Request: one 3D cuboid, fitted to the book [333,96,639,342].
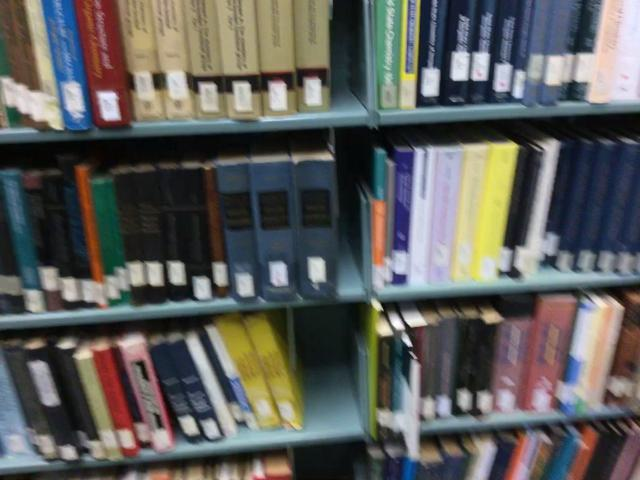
[{"bbox_3d":[0.500,-0.070,1.050,0.910,0.320,0.220,-7,23,-5],"label":"book"}]

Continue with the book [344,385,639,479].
[{"bbox_3d":[0.510,0.480,1.250,0.900,0.270,0.090,-7,23,-5],"label":"book"}]

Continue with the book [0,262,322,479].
[{"bbox_3d":[-0.450,0.260,1.090,0.870,0.270,0.220,-7,23,-5],"label":"book"}]
